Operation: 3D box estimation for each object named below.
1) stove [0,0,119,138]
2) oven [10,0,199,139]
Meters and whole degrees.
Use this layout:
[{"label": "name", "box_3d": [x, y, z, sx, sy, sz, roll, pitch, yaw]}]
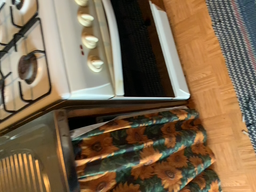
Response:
[{"label": "stove", "box_3d": [-0.380, -0.150, 0.780, 0.620, 0.200, 0.510, -21, 77, 37]}, {"label": "oven", "box_3d": [-0.110, -0.140, 1.120, 0.610, 0.670, 0.530, -21, 77, 37]}]
